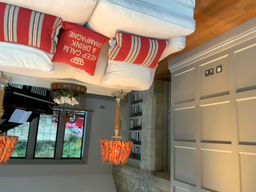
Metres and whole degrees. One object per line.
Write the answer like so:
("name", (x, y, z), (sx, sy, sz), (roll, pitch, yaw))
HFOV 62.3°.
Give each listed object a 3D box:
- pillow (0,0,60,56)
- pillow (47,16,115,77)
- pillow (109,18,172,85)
("pillow", (-0.800, -0.530, 1.640), (0.460, 0.230, 0.240), (17, 165, -20))
("pillow", (-0.430, -0.420, 1.920), (0.510, 0.340, 0.350), (7, 169, -22))
("pillow", (0.120, -0.390, 1.920), (0.530, 0.270, 0.140), (47, 156, -14))
